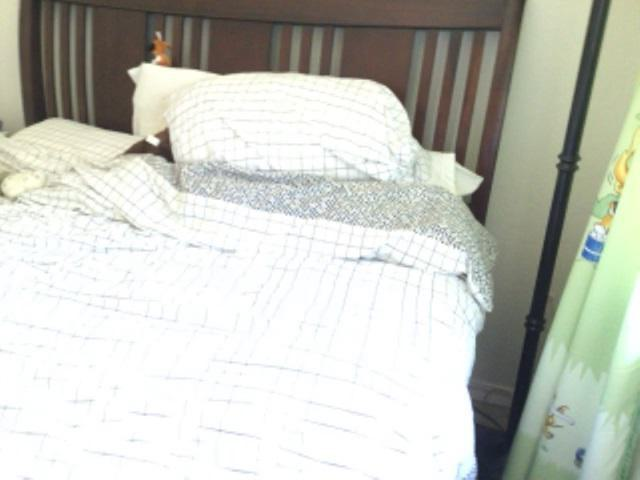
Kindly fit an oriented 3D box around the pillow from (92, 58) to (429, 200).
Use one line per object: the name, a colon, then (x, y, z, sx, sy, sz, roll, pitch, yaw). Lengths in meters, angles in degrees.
pillow: (-0.140, -0.330, 1.570, 0.790, 0.220, 0.400, 9, 26, 15)
